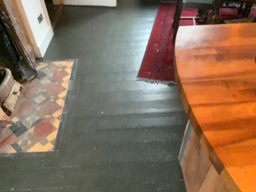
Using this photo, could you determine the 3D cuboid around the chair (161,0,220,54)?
[{"bbox_3d":[0.640,-1.010,2.190,0.490,1.040,0.430,5,46,7],"label":"chair"}]
